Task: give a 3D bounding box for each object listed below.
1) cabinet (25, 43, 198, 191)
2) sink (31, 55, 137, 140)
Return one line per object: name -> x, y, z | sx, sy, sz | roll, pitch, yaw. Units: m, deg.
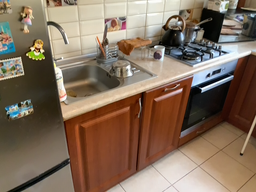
cabinet -> -0.110, 0.170, 1.620 | 0.960, 0.860, 0.610 | -19, 37, -32
sink -> -0.290, -0.040, 1.350 | 0.440, 0.210, 0.550 | -19, 37, -32
